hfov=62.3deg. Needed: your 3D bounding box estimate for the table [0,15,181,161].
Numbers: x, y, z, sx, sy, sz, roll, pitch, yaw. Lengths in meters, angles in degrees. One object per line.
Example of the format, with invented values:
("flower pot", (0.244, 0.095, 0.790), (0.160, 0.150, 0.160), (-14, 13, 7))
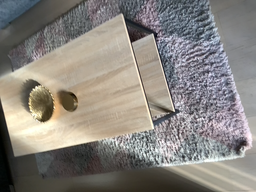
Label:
("table", (-0.290, 0.020, 1.320), (1.030, 0.420, 0.510), (-18, 87, 29))
